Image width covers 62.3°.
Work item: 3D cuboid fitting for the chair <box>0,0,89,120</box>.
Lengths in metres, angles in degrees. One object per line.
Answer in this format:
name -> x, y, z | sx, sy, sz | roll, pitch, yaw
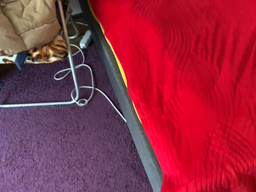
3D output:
chair -> -0.570, -0.400, 1.100 | 0.540, 0.750, 0.770 | -3, 57, 1
